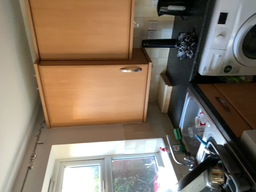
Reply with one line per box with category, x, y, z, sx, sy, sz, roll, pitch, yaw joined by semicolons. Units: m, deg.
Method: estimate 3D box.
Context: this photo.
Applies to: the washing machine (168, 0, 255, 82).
washing machine;0.910;-0.550;1.770;0.670;0.890;0.600;-104;14;-56
